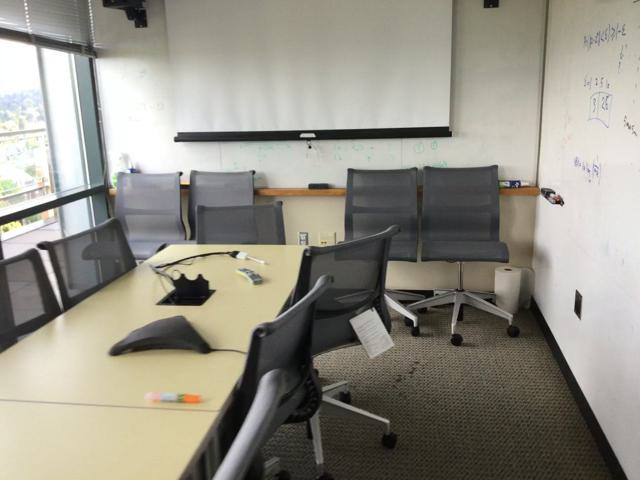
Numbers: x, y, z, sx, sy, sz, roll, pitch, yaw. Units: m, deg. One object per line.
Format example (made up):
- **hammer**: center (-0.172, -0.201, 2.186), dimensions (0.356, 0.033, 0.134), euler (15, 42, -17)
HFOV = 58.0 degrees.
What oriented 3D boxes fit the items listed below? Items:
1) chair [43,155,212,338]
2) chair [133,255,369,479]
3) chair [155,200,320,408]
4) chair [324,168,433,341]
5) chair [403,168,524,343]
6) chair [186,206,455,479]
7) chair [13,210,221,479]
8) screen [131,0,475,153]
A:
- **chair**: center (-1.180, 0.010, 3.720), dimensions (0.690, 1.020, 0.700), euler (0, 13, 9)
- **chair**: center (-0.140, 0.580, 1.810), dimensions (0.360, 0.890, 0.750), euler (3, 14, 22)
- **chair**: center (-0.350, 0.280, 2.830), dimensions (0.640, 0.840, 0.620), euler (-2, 13, 3)
- **chair**: center (0.380, 0.060, 3.500), dimensions (0.580, 0.920, 0.550), euler (0, 13, 12)
- **chair**: center (0.820, 0.060, 3.390), dimensions (0.610, 0.890, 0.580), euler (0, 13, 12)
- **chair**: center (0.010, 0.410, 2.330), dimensions (0.760, 0.930, 0.710), euler (-12, 16, -36)
- **chair**: center (-0.790, 0.390, 2.430), dimensions (0.400, 0.920, 0.670), euler (2, 14, 19)
- **screen**: center (-0.130, -1.500, 3.370), dimensions (2.000, 1.900, 0.250), euler (0, 13, 12)
